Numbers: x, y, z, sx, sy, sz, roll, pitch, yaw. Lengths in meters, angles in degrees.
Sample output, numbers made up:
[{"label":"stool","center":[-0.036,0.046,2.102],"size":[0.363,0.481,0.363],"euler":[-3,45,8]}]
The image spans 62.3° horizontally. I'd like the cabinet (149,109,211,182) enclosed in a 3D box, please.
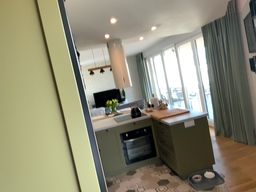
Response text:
[{"label":"cabinet","center":[0.830,0.750,3.540],"size":[0.560,0.890,0.820],"euler":[-13,6,-12]}]
